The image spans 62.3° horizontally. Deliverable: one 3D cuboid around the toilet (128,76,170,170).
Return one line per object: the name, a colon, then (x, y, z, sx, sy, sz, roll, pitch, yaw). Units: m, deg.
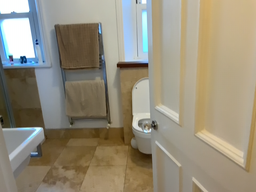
toilet: (0.220, 0.260, 2.280, 0.370, 0.830, 0.560, -2, 17, 3)
